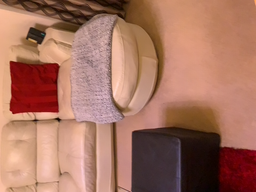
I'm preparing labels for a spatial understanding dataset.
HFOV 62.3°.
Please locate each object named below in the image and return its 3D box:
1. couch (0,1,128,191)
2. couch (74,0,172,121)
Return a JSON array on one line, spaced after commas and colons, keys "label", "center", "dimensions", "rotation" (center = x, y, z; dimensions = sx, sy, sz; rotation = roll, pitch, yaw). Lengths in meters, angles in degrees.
[{"label": "couch", "center": [-0.700, 0.580, 2.150], "dimensions": [1.020, 0.920, 2.480], "rotation": [-11, 81, 51]}, {"label": "couch", "center": [-0.070, -0.200, 1.710], "dimensions": [0.620, 0.470, 0.760], "rotation": [-11, 81, 51]}]
